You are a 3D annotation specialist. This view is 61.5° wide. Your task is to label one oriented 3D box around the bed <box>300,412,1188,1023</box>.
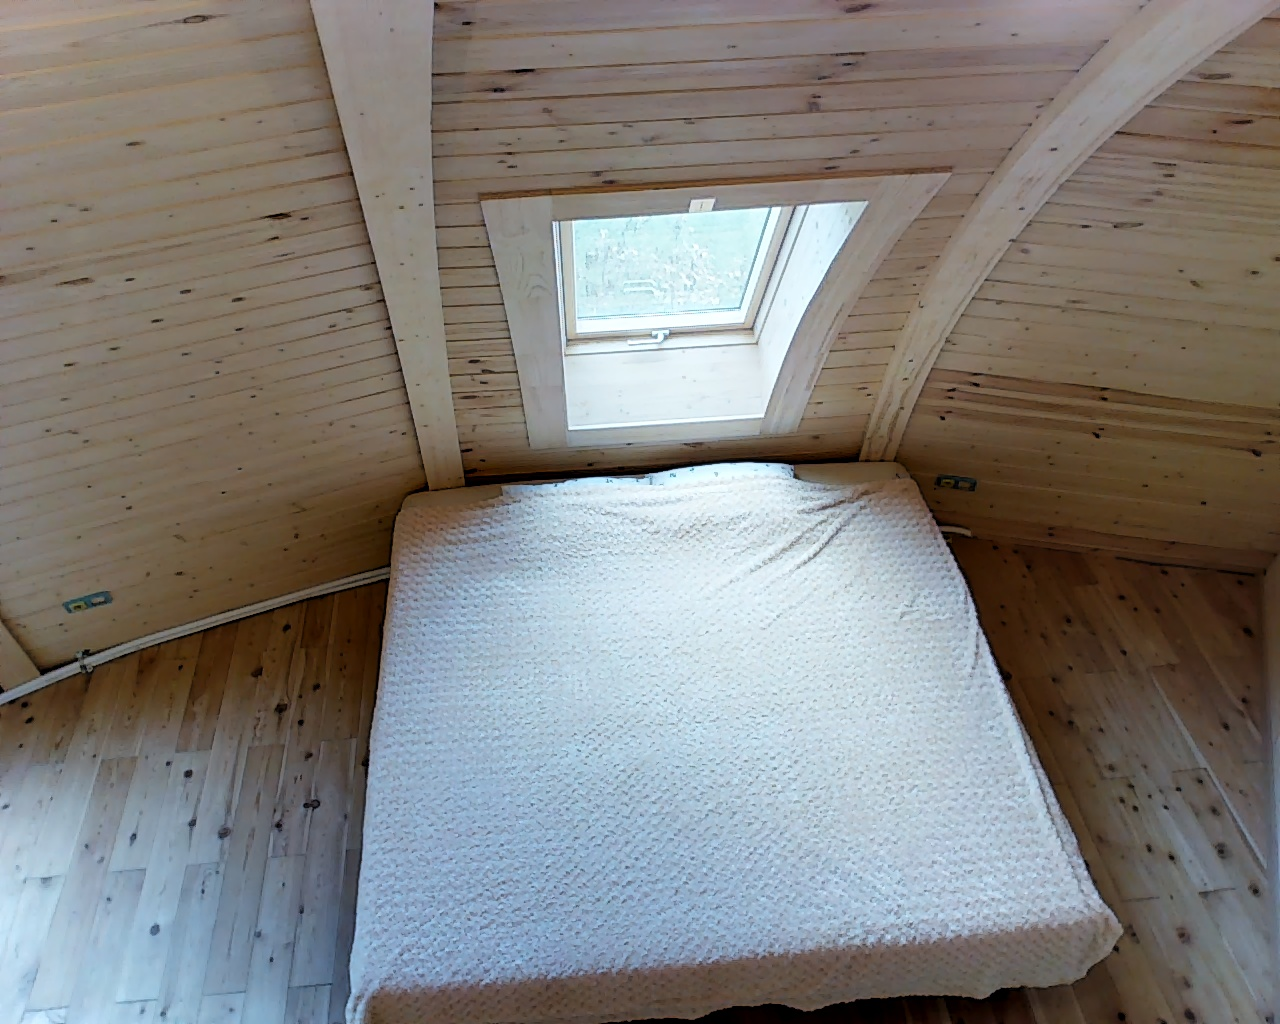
[{"bbox_3d":[0.170,0.670,3.790,2.290,0.610,2.320,-5,42,-4],"label":"bed"}]
